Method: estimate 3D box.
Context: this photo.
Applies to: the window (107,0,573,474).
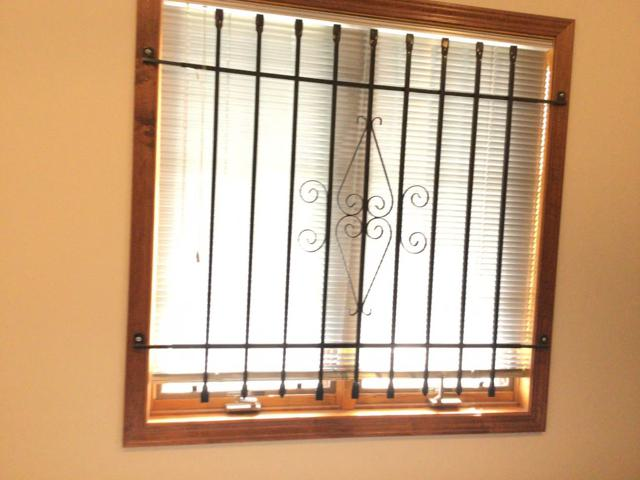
[{"bbox_3d":[0.080,-0.090,1.690,1.280,1.390,0.210,1,2,-13],"label":"window"}]
